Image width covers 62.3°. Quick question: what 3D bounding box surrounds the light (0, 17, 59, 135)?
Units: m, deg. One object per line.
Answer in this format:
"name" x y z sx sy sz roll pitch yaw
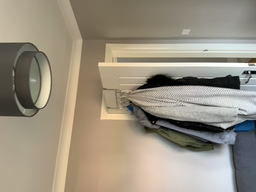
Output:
"light" -0.500 -0.050 0.820 0.320 0.340 0.340 1 160 1
